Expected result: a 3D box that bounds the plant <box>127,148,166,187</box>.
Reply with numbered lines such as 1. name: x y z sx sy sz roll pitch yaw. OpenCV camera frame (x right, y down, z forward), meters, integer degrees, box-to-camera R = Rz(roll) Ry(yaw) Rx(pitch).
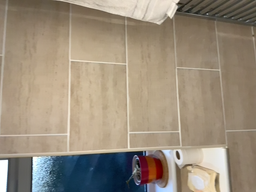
1. plant: 0.090 0.360 1.100 0.200 0.140 0.130 172 99 -73
